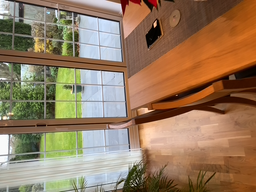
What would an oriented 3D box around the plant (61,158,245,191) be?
[{"bbox_3d":[0.100,1.040,1.850,1.310,1.090,0.760,-23,69,60],"label":"plant"}]
